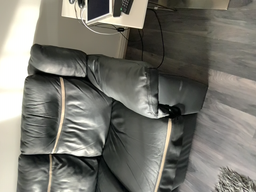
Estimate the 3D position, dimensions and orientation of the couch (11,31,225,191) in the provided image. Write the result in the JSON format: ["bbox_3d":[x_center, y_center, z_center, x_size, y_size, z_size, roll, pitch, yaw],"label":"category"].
[{"bbox_3d":[-0.290,0.820,1.720,1.020,0.950,2.360,28,113,45],"label":"couch"}]
